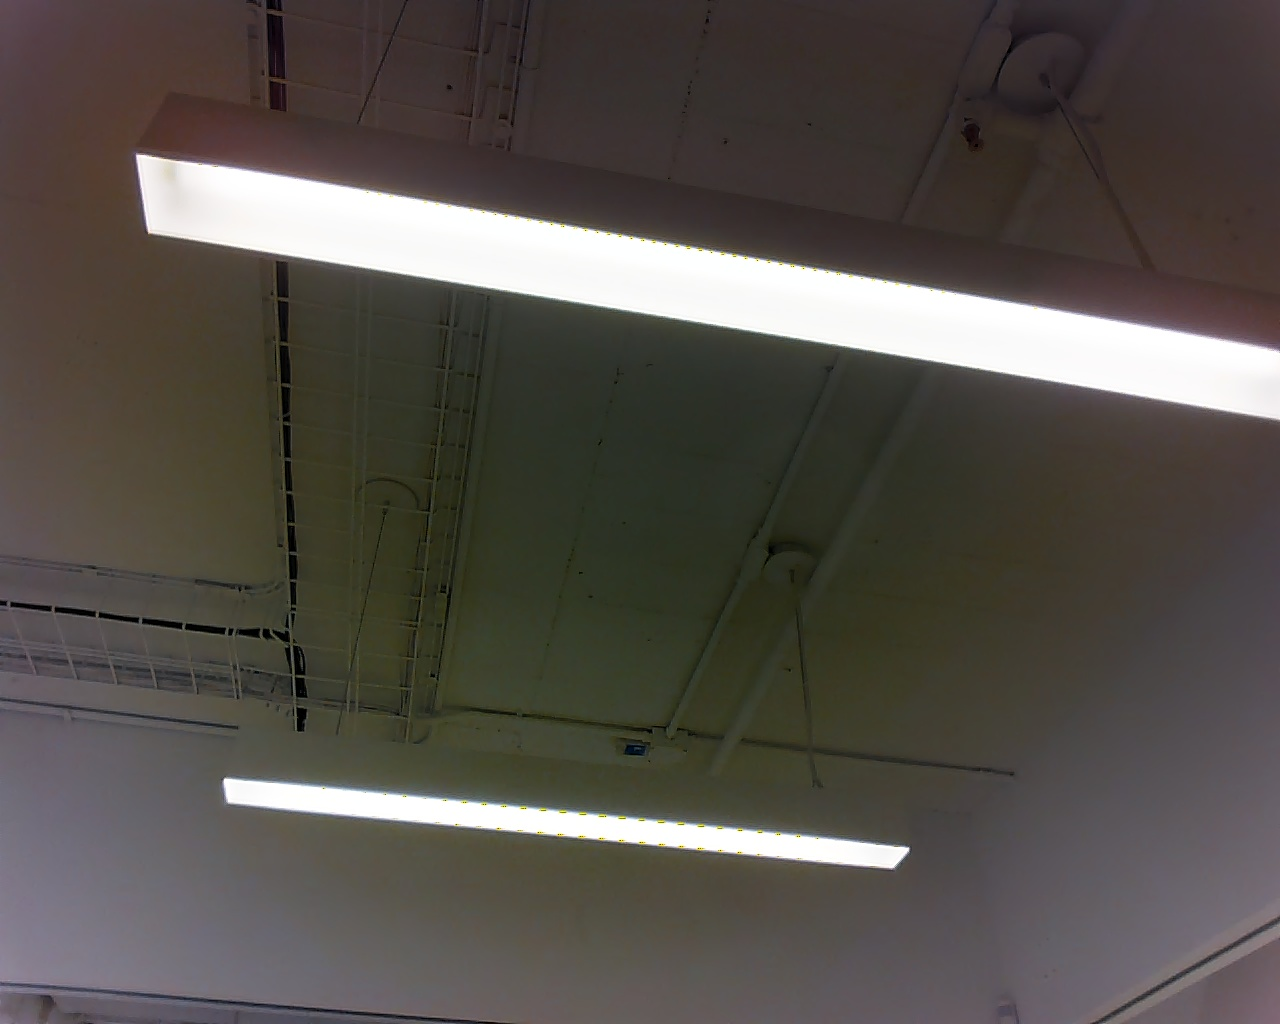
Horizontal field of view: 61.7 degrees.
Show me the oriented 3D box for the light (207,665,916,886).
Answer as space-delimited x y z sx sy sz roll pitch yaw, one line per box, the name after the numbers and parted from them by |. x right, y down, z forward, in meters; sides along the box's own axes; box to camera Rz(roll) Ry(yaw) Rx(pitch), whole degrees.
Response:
-0.120 0.500 2.000 1.259 0.210 0.150 9 -42 -9 | light

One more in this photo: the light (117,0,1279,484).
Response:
0.140 -0.280 1.160 1.239 0.260 0.160 9 -42 -9 | light
